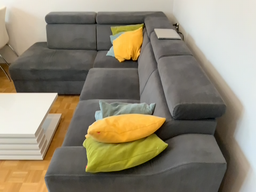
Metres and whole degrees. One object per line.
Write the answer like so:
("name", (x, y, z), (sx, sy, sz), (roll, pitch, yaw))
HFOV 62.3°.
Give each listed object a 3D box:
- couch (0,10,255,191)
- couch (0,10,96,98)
("couch", (0.000, -0.190, 2.160), (1.090, 0.850, 2.500), (1, 32, 1))
("couch", (-1.000, -0.600, 2.810), (0.930, 0.840, 0.980), (1, 32, 1))
